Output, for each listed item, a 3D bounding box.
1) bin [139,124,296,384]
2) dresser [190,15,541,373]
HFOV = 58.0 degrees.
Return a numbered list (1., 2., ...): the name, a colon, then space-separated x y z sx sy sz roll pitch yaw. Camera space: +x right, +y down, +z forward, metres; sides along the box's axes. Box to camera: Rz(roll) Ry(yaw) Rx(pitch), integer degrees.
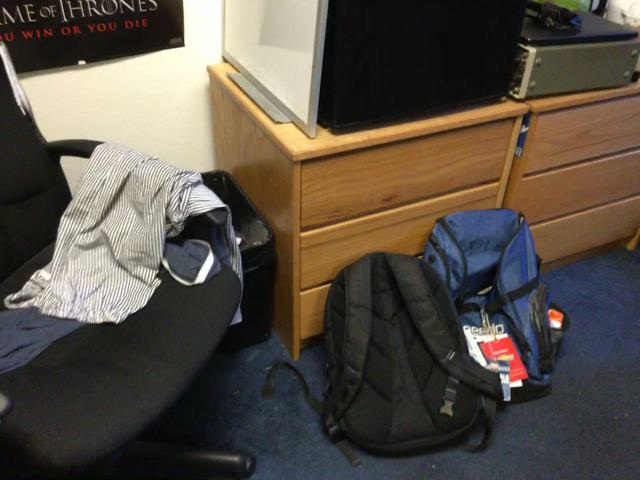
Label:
1. bin: -0.290 0.020 1.640 0.260 0.520 0.480 -15 36 -22
2. dresser: 0.080 -0.200 1.760 0.690 0.730 0.700 -15 36 -22
